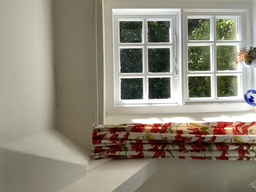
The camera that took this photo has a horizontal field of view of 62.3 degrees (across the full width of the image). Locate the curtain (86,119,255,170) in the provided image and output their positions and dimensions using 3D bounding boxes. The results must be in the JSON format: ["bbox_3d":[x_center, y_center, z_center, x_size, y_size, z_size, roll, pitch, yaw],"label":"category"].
[{"bbox_3d":[0.620,0.350,1.620,0.200,1.830,0.310,-169,78,-87],"label":"curtain"}]
